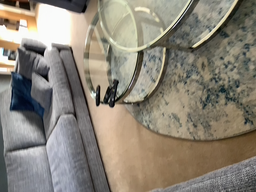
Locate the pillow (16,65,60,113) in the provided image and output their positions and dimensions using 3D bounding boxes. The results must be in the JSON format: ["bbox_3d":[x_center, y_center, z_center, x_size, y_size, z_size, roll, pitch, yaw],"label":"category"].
[{"bbox_3d":[-1.070,-0.080,2.510,0.340,0.430,0.120,-38,-11,14],"label":"pillow"}]
